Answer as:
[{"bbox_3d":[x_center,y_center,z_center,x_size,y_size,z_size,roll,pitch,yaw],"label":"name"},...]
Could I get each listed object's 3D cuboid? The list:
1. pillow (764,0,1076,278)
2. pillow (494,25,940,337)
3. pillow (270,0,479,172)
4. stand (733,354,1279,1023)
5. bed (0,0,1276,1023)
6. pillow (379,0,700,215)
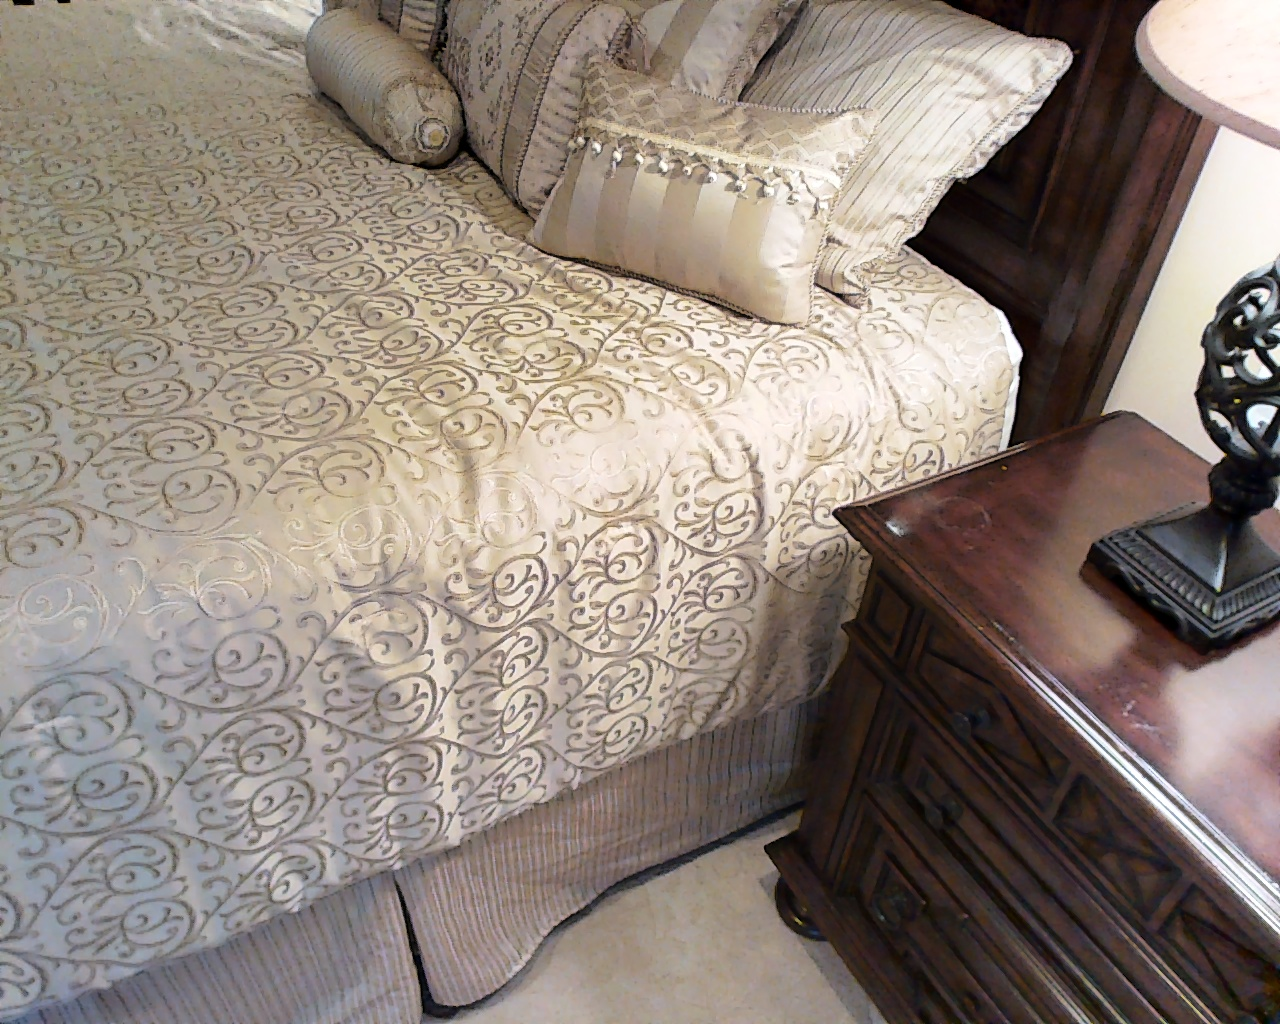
[{"bbox_3d":[0.360,-0.550,1.470,0.180,0.300,0.340,-18,45,-24],"label":"pillow"},{"bbox_3d":[0.100,-0.470,1.450,0.460,0.190,0.360,26,45,24],"label":"pillow"},{"bbox_3d":[-0.450,-0.740,1.760,0.160,0.130,0.550,-18,45,-24],"label":"pillow"},{"bbox_3d":[0.630,0.430,1.290,0.550,0.790,0.900,-18,45,-24],"label":"stand"},{"bbox_3d":[-0.860,-0.220,1.840,2.191,0.900,2.440,-18,45,-24],"label":"bed"},{"bbox_3d":[-0.190,-0.750,1.690,0.240,0.270,0.650,-18,45,-24],"label":"pillow"}]
